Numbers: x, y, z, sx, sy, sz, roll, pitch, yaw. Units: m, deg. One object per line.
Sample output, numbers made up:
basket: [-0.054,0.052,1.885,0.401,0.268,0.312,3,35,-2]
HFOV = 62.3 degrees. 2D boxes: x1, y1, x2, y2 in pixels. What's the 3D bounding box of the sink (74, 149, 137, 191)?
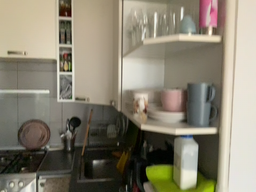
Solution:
sink: [-0.180,0.560,1.580,0.420,0.200,0.360,0,3,-12]
